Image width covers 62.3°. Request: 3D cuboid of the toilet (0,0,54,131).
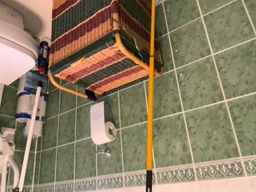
[{"bbox_3d":[-0.860,-0.220,1.350,0.620,0.780,0.380,-19,152,30],"label":"toilet"}]
